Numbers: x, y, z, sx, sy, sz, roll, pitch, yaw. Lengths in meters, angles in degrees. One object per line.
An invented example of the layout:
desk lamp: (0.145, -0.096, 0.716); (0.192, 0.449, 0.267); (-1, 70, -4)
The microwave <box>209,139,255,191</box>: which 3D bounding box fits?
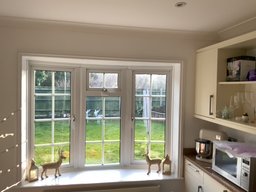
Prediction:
microwave: (1.030, 0.600, 1.880); (0.370, 0.290, 0.560); (2, 2, -4)
